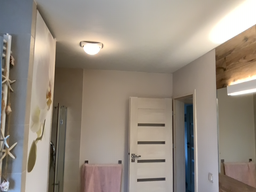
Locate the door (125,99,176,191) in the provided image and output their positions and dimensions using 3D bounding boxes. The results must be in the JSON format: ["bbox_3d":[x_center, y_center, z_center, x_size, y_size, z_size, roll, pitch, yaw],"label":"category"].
[{"bbox_3d":[0.360,1.090,3.400,0.780,2.060,0.190,2,-6,-11],"label":"door"}]
